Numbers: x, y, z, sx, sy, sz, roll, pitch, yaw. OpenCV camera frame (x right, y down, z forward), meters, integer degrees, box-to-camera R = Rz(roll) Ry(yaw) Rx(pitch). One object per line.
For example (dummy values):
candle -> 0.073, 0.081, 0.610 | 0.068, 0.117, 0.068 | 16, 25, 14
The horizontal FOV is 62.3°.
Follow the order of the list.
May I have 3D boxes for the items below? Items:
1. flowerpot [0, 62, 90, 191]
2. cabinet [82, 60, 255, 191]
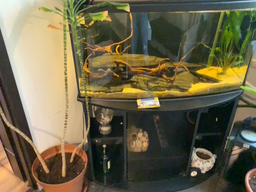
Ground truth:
flowerpot -> -0.440, 0.270, 1.280 | 0.300, 0.900, 0.260 | 1, 31, 0
cabinet -> 0.250, 0.220, 1.530 | 1.040, 0.710, 0.560 | -7, 32, -12
